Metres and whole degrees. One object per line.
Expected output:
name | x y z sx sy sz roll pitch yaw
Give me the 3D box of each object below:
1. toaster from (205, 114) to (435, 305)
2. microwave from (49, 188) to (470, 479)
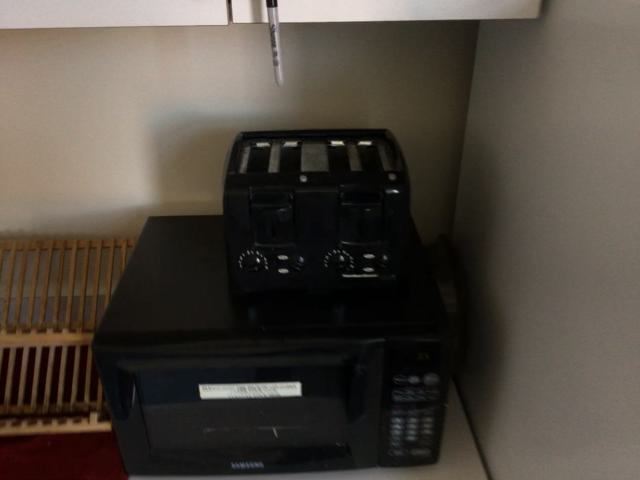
toaster | 0.000 -0.060 0.930 0.300 0.200 0.280 0 30 0
microwave | -0.080 0.150 1.040 0.560 0.340 0.420 0 30 0
